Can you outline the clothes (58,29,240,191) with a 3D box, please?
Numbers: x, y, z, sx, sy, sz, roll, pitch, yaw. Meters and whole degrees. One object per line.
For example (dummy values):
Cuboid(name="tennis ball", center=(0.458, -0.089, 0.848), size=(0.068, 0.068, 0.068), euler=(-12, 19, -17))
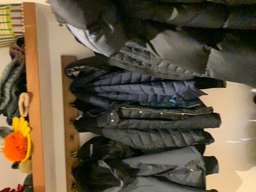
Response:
Cuboid(name="clothes", center=(0.130, 0.280, 1.300), size=(0.300, 0.970, 1.270), euler=(-152, 60, -78))
